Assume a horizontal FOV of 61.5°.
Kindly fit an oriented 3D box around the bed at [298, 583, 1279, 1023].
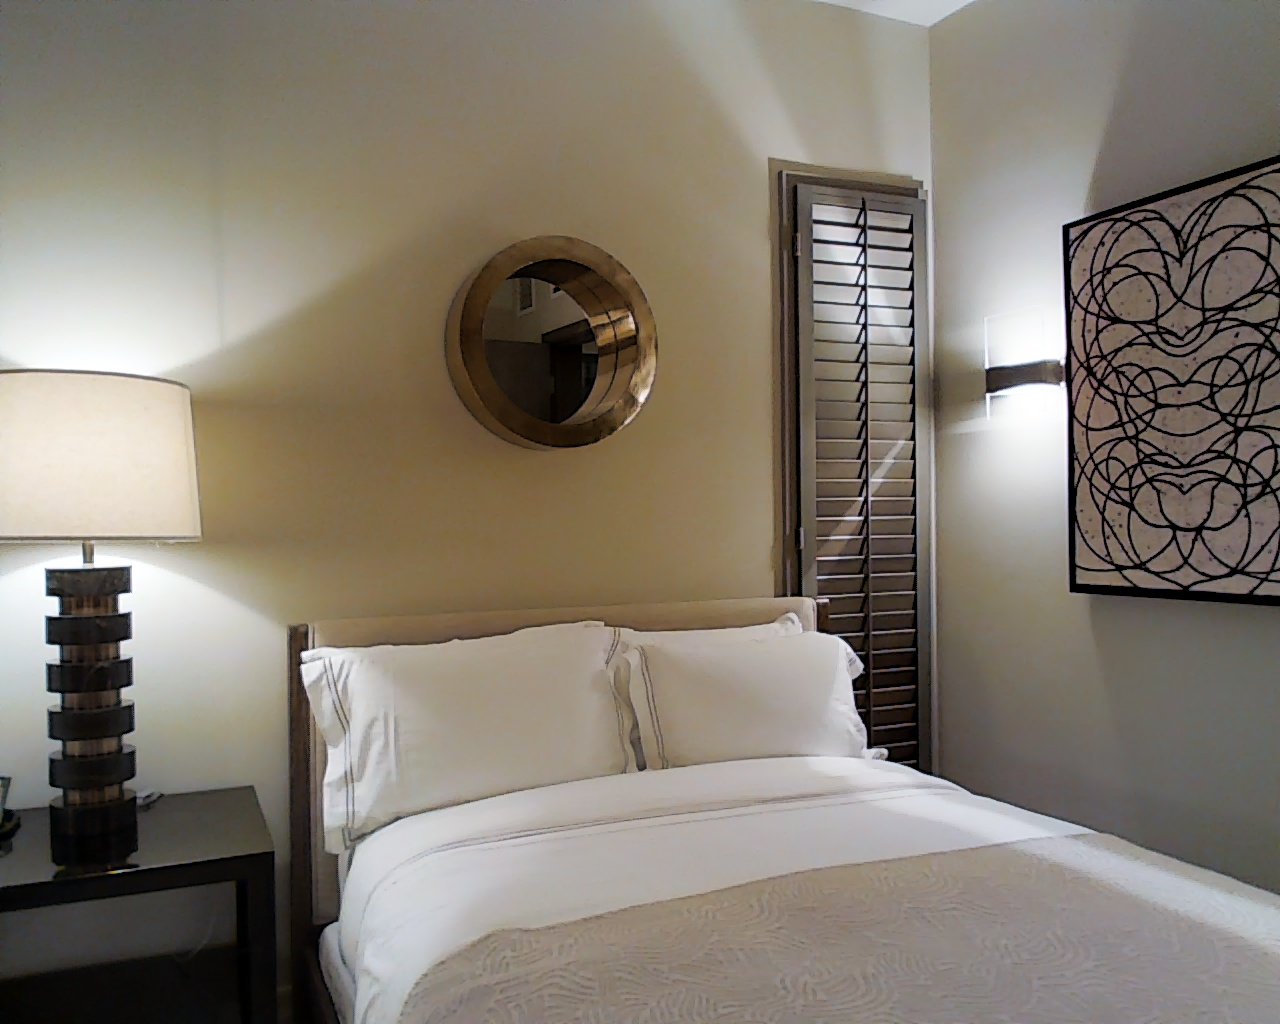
[{"bbox_3d":[0.320,0.790,2.140,1.640,1.090,2.240,-1,1,-24],"label":"bed"}]
